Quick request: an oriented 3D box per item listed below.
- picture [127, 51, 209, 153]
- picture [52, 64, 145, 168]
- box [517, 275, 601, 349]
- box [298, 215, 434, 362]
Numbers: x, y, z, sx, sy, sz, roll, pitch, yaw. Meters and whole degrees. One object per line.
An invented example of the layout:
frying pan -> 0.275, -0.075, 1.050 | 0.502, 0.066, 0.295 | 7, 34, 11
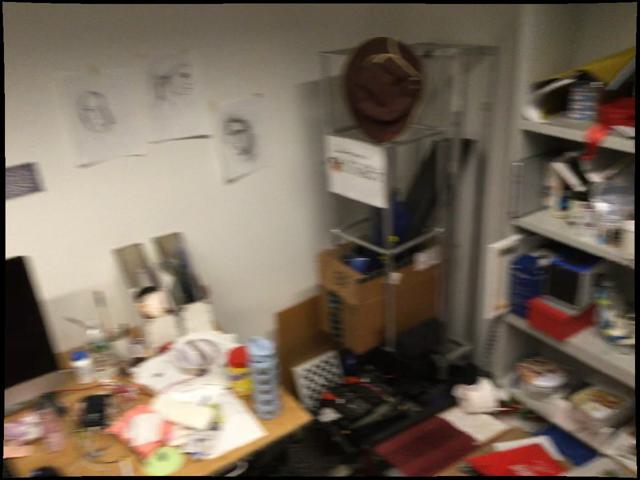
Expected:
picture -> -0.499, -0.460, 1.910 | 0.210, 0.290, 0.070 | -21, 32, -31
picture -> -0.689, -0.390, 1.810 | 0.220, 0.280, 0.040 | -21, 32, -31
box -> 0.779, 0.230, 1.880 | 0.180, 0.120, 0.170 | -21, 32, -31
box -> 0.180, 0.170, 2.230 | 0.400, 0.360, 0.310 | -21, 32, -31
